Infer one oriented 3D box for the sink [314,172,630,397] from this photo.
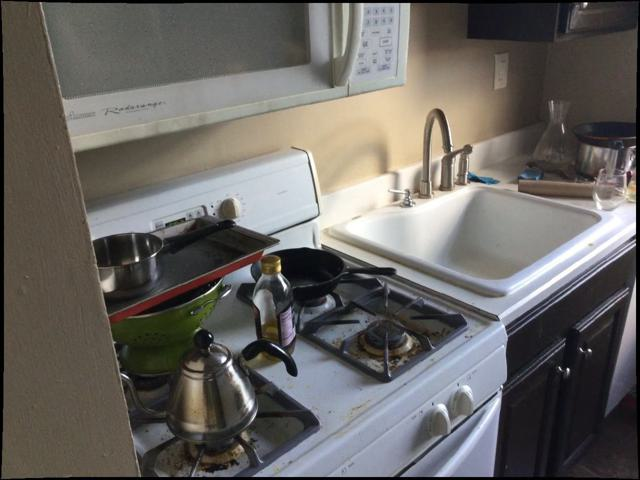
[{"bbox_3d":[0.419,0.060,1.620,0.649,0.230,0.560,-24,32,-35],"label":"sink"}]
